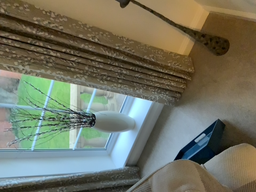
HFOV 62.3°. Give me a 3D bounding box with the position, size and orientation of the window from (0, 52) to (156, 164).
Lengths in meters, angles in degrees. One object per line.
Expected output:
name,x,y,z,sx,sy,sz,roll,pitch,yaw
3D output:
window,-0.740,0.140,1.570,0.080,2.130,0.830,43,116,48
